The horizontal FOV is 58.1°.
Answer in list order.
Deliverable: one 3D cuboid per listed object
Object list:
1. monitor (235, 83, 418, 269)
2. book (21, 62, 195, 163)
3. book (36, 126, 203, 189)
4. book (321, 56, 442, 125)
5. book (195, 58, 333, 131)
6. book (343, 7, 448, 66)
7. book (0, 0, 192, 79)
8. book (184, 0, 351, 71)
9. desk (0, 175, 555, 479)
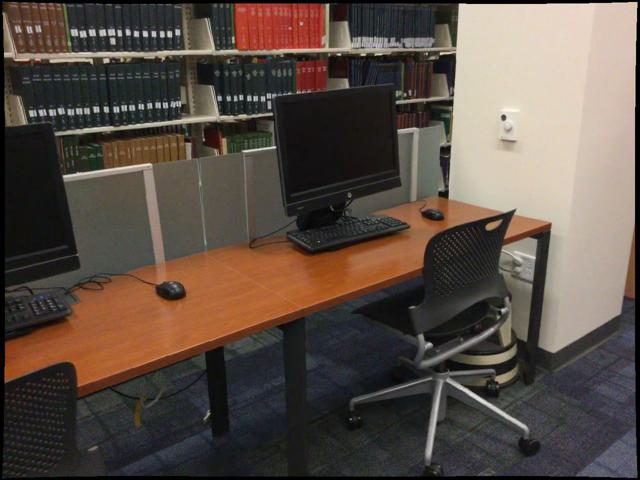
[{"bbox_3d":[0.040,-0.261,2.070,0.599,0.541,0.270,-16,24,-37],"label":"monitor"},{"bbox_3d":[-0.967,-0.622,2.720,0.709,0.391,0.180,-16,24,-37],"label":"book"},{"bbox_3d":[-0.987,-0.431,2.880,0.679,0.170,0.390,-16,24,-37],"label":"book"},{"bbox_3d":[0.409,-0.993,3.750,0.769,0.371,0.330,-16,24,-37],"label":"book"},{"bbox_3d":[-0.279,-0.822,3.190,0.809,0.331,0.140,-16,24,-37],"label":"book"},{"bbox_3d":[0.489,-1.273,3.600,0.819,0.321,0.110,-16,24,-37],"label":"book"},{"bbox_3d":[-1.027,-0.932,2.610,0.819,0.341,0.260,-16,24,-37],"label":"book"},{"bbox_3d":[-0.259,-1.143,3.210,0.919,0.341,0.270,-16,24,-37],"label":"book"},{"bbox_3d":[-1.646,0.822,0.830,6.091,0.792,0.729,-16,24,-37],"label":"desk"}]
